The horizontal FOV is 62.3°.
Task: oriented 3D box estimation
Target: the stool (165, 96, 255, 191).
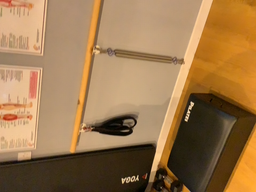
[{"bbox_3d":[0.560,0.360,1.540,0.350,0.250,0.630,42,124,51],"label":"stool"}]
